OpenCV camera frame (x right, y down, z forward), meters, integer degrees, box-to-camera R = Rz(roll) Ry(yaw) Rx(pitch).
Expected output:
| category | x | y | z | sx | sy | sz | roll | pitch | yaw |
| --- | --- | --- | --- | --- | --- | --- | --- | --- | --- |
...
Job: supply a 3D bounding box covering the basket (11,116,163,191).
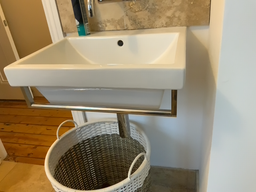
| category | x | y | z | sx | sy | sz | roll | pitch | yaw |
| --- | --- | --- | --- | --- | --- | --- | --- | --- | --- |
| basket | -0.110 | 0.450 | 1.040 | 0.500 | 0.480 | 0.500 | 1 | 29 | 14 |
